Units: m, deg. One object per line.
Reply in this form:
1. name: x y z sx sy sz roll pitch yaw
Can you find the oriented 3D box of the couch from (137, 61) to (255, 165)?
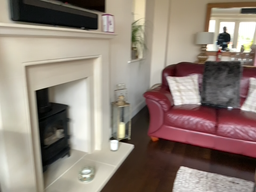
1. couch: 1.080 0.100 2.660 1.660 0.910 1.010 7 16 20
